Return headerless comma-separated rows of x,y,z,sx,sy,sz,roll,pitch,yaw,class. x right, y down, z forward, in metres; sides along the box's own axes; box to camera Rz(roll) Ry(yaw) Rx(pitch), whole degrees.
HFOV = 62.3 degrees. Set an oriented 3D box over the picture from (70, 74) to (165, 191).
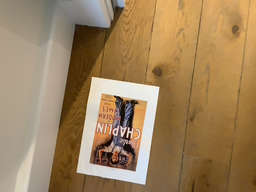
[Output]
-0.030,0.110,0.630,0.220,0.030,0.310,11,89,2,picture
